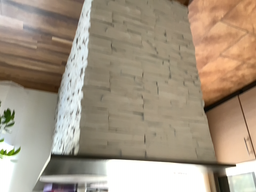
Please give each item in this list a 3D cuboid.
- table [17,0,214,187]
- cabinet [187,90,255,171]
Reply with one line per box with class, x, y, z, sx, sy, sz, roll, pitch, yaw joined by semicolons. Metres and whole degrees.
table;-0.300;0.100;1.660;0.770;1.040;1.530;12;151;-24
cabinet;1.210;0.460;2.650;0.580;0.810;0.570;12;151;-25
